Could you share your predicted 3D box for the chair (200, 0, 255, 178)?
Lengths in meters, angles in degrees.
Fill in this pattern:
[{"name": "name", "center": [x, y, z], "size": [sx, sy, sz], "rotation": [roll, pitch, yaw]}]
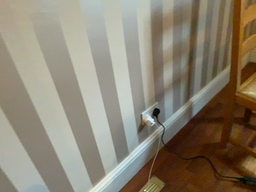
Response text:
[{"name": "chair", "center": [0.790, -0.100, 1.120], "size": [0.520, 1.020, 0.500], "rotation": [-34, 43, -31]}]
